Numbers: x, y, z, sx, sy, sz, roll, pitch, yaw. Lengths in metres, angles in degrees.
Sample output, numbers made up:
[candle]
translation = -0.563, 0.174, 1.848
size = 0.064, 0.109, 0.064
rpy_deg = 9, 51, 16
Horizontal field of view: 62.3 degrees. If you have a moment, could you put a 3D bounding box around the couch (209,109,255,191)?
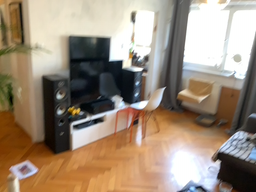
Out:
[couch]
translation = 1.470, 0.650, 2.480
size = 0.860, 0.700, 0.570
rpy_deg = -13, 23, -43
